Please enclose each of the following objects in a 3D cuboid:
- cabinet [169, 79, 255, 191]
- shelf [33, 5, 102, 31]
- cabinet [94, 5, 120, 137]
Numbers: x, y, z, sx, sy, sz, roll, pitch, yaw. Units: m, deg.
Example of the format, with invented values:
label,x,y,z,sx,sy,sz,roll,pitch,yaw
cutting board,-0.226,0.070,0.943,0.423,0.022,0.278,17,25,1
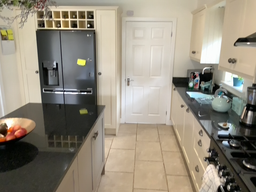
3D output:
label,x,y,z,sx,sy,sz,roll,pitch,yaw
cabinet,1.060,0.430,3.010,0.610,0.890,2.430,2,15,4
shelf,-0.970,-1.300,3.590,0.950,0.350,0.630,2,15,3
cabinet,-0.340,-0.410,3.780,0.330,2.150,0.640,2,15,3
